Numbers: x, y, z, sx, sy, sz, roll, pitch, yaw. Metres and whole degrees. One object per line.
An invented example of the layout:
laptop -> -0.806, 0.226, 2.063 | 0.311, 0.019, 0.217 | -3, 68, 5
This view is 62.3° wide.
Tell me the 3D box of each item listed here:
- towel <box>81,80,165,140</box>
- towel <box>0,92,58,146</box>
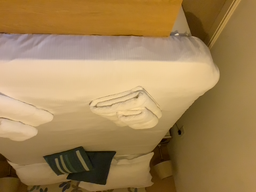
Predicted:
towel -> -0.010, 0.110, 1.260 | 0.350, 0.130, 0.420 | -17, 149, 16
towel -> -0.690, 0.140, 1.180 | 0.380, 0.100, 0.420 | -23, 147, 26
